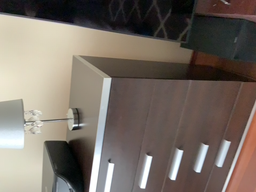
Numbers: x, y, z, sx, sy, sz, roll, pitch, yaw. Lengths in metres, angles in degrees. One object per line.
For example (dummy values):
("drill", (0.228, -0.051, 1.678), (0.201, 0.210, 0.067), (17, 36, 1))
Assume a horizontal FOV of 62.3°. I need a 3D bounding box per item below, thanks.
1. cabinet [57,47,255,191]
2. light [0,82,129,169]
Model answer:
("cabinet", (0.180, 0.260, 1.350), (0.550, 1.050, 0.910), (40, 124, 53))
("light", (-0.350, 0.110, 1.010), (0.290, 0.610, 0.260), (38, 122, 54))
